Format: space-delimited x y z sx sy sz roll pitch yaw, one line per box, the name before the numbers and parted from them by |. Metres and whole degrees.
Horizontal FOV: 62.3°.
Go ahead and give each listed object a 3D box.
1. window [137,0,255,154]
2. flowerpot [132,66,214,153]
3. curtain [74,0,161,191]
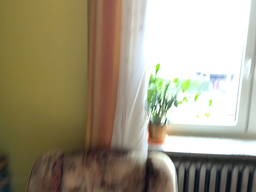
window | 1.030 -0.490 1.610 1.860 1.860 0.250 2 10 3
flowerpot | 0.330 0.080 1.800 0.570 0.640 0.430 1 10 0
curtain | -0.060 -0.360 1.380 0.510 2.310 0.220 2 10 4
